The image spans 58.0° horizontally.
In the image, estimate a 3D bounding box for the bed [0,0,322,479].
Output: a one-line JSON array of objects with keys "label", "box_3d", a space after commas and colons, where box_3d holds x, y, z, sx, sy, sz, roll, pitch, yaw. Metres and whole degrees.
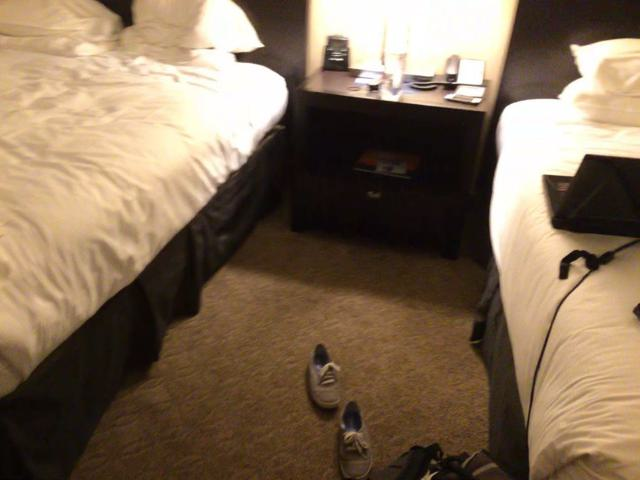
[{"label": "bed", "box_3d": [-1.080, -0.540, 1.910, 1.690, 1.490, 2.140, 11, 29, 10]}]
